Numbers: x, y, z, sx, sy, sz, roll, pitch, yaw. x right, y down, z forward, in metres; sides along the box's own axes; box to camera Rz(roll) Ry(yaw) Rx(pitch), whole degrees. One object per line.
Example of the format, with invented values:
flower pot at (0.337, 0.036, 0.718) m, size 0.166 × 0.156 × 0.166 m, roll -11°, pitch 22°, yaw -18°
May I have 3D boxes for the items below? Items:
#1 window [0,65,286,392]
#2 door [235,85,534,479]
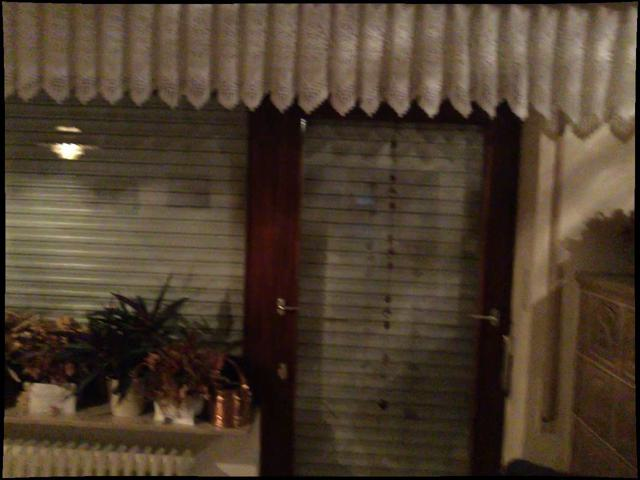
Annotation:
window at (-1.469, -0.090, 2.170) m, size 2.607 × 1.041 × 0.460 m, roll 3°, pitch 5°, yaw 2°
door at (0.220, 0.450, 2.480) m, size 1.029 × 2.042 × 0.620 m, roll 3°, pitch 5°, yaw 2°
